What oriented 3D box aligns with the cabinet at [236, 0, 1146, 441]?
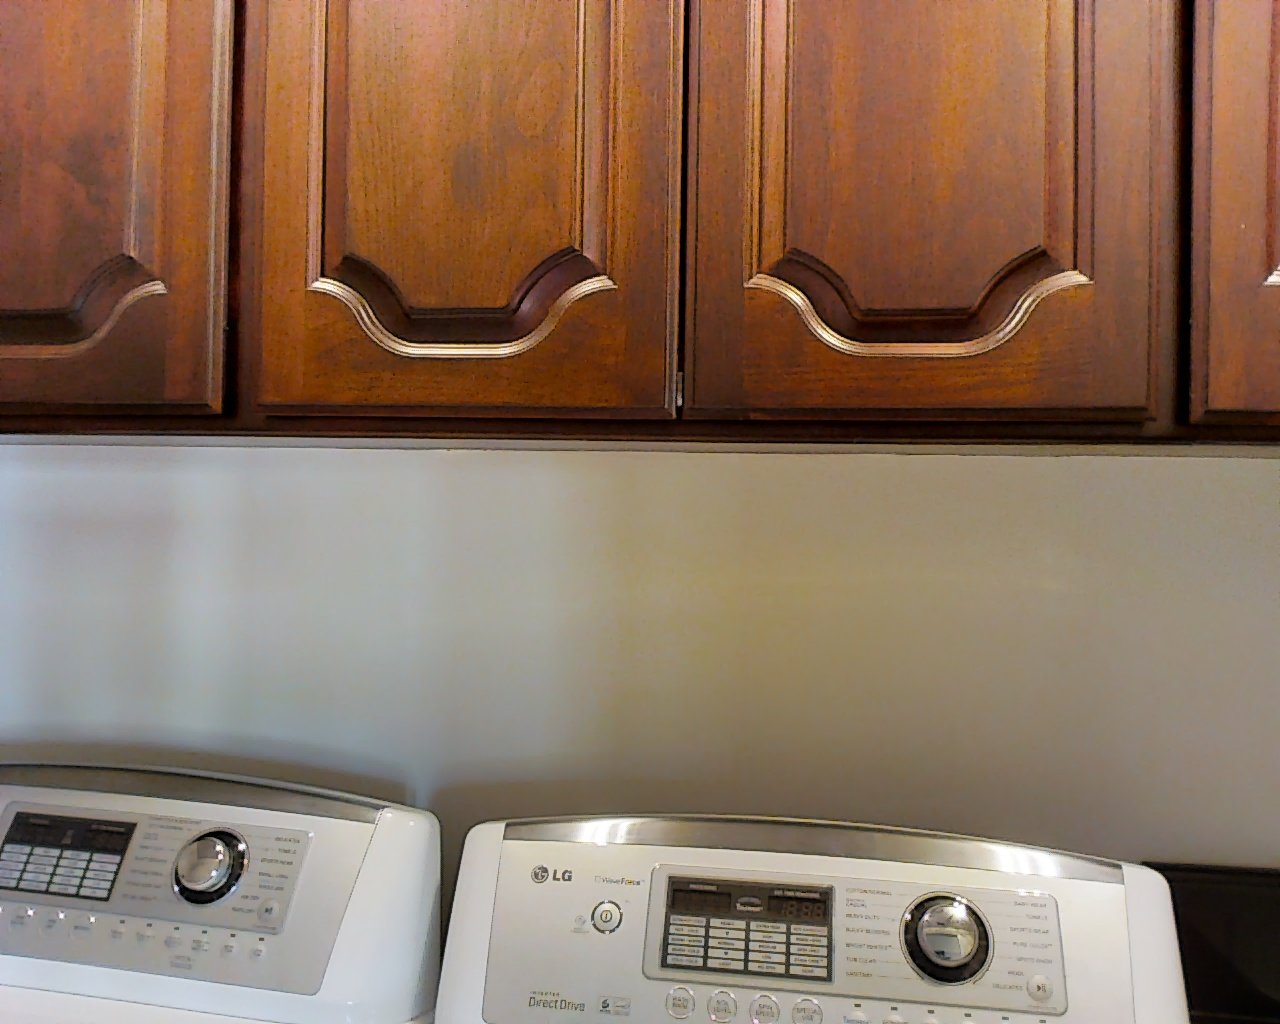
[{"bbox_3d":[0.030,-0.660,0.900,0.750,1.190,0.030,1,0,8],"label":"cabinet"}]
